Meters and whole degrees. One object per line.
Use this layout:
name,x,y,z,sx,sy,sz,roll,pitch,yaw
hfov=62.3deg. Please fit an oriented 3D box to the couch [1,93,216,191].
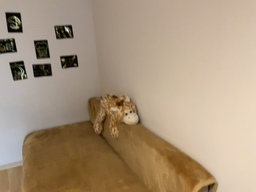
couch,-0.410,0.590,1.890,1.020,0.740,2.010,-9,16,-24
